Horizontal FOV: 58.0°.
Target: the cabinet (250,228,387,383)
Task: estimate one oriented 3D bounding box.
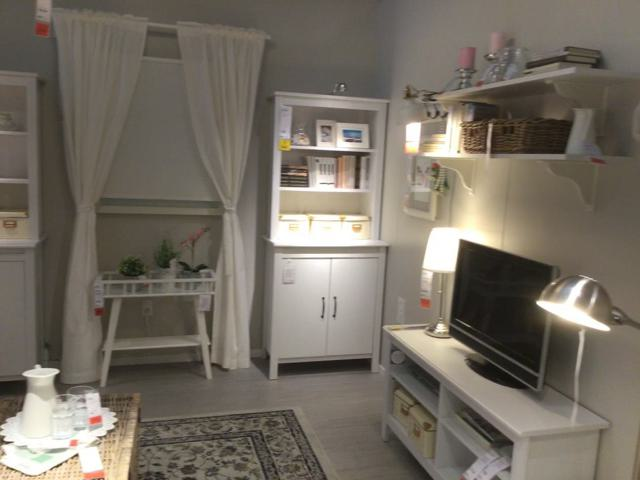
[{"bbox_3d":[-0.030,0.420,3.950,0.770,0.930,0.500,1,7,-17],"label":"cabinet"}]
